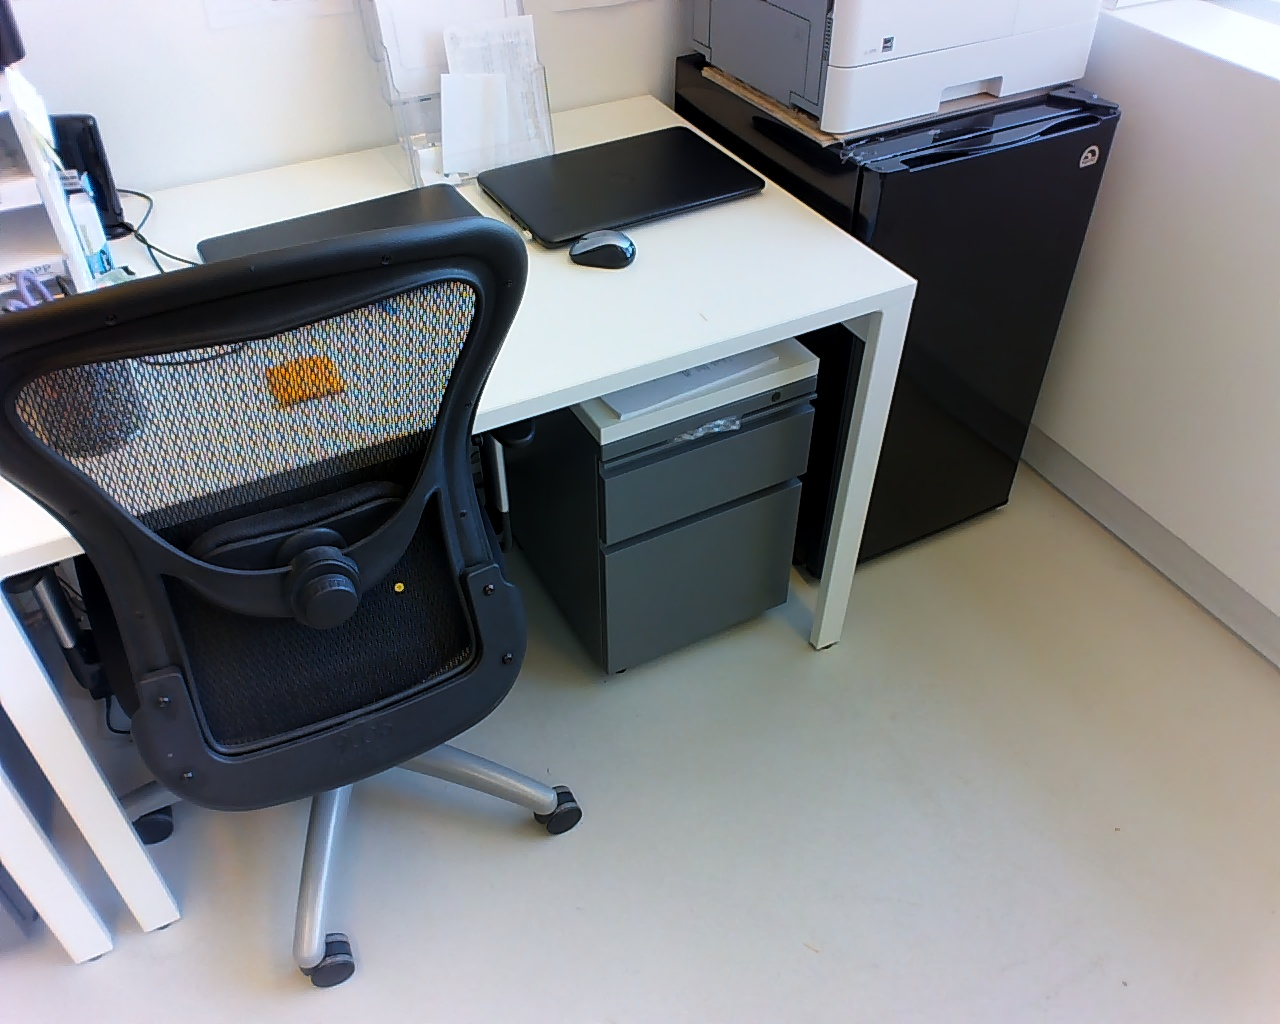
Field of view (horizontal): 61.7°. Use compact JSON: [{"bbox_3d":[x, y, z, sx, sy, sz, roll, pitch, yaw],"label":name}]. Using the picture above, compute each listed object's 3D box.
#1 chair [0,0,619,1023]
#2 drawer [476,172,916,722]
[{"bbox_3d":[-0.450,0.040,1.370,0.590,1.060,0.700,-18,45,-19],"label":"chair"},{"bbox_3d":[0.070,-0.110,1.820,0.500,0.700,0.440,-19,45,-20],"label":"drawer"}]
